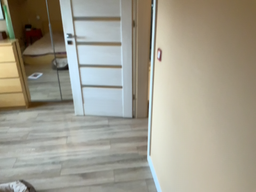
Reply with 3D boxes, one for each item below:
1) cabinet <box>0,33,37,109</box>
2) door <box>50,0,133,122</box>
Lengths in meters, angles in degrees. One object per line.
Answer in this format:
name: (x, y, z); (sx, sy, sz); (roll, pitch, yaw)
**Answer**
cabinet: (-1.990, -0.370, 3.210); (0.880, 1.030, 0.510); (-3, 26, -7)
door: (-0.390, -0.630, 2.630); (0.890, 2.020, 0.320); (0, 26, -1)
